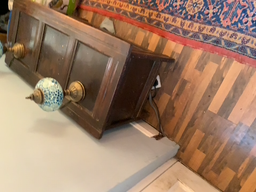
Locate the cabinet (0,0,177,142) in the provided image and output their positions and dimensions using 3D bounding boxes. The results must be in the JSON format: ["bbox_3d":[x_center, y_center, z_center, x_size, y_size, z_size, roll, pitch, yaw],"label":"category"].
[{"bbox_3d":[-0.330,-0.250,1.490,1.070,0.570,0.510,30,110,28],"label":"cabinet"}]
